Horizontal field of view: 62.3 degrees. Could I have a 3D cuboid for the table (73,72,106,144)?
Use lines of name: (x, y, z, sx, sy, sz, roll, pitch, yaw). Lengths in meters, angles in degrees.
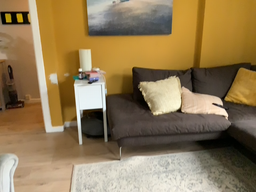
table: (-0.440, 0.110, 2.440, 0.300, 0.670, 0.520, -3, 17, -10)
